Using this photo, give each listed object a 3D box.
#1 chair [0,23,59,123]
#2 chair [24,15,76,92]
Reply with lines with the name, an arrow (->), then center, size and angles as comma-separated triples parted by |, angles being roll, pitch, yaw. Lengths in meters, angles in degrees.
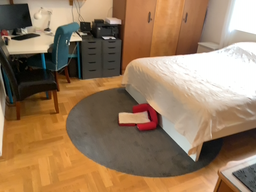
chair -> -1.250, -0.300, 2.590 | 0.650, 1.060, 0.480 | -8, 30, -25
chair -> -1.180, -0.670, 3.340 | 0.540, 1.060, 0.420 | 11, 28, 12
